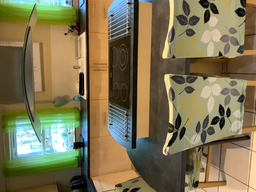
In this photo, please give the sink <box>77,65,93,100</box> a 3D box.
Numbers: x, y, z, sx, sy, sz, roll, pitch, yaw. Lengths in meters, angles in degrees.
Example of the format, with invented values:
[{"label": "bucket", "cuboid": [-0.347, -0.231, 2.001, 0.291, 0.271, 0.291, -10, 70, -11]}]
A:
[{"label": "sink", "cuboid": [-0.710, -0.240, 3.450, 0.560, 0.140, 0.520, -163, 72, -65]}]
